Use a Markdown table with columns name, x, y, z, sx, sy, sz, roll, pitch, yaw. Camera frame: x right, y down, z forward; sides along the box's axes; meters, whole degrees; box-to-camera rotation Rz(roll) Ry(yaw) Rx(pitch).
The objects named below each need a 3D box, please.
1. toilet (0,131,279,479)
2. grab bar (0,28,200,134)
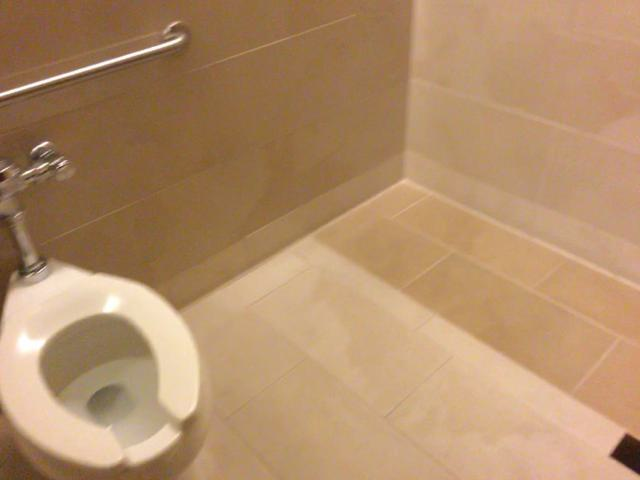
| name | x | y | z | sx | sy | sz | roll | pitch | yaw |
| --- | --- | --- | --- | --- | --- | --- | --- | --- | --- |
| toilet | -0.500 | 0.270 | 1.240 | 0.390 | 0.730 | 0.740 | -32 | 44 | -31 |
| grab bar | -0.670 | -0.290 | 1.240 | 0.920 | 0.080 | 0.070 | -32 | 44 | -31 |
